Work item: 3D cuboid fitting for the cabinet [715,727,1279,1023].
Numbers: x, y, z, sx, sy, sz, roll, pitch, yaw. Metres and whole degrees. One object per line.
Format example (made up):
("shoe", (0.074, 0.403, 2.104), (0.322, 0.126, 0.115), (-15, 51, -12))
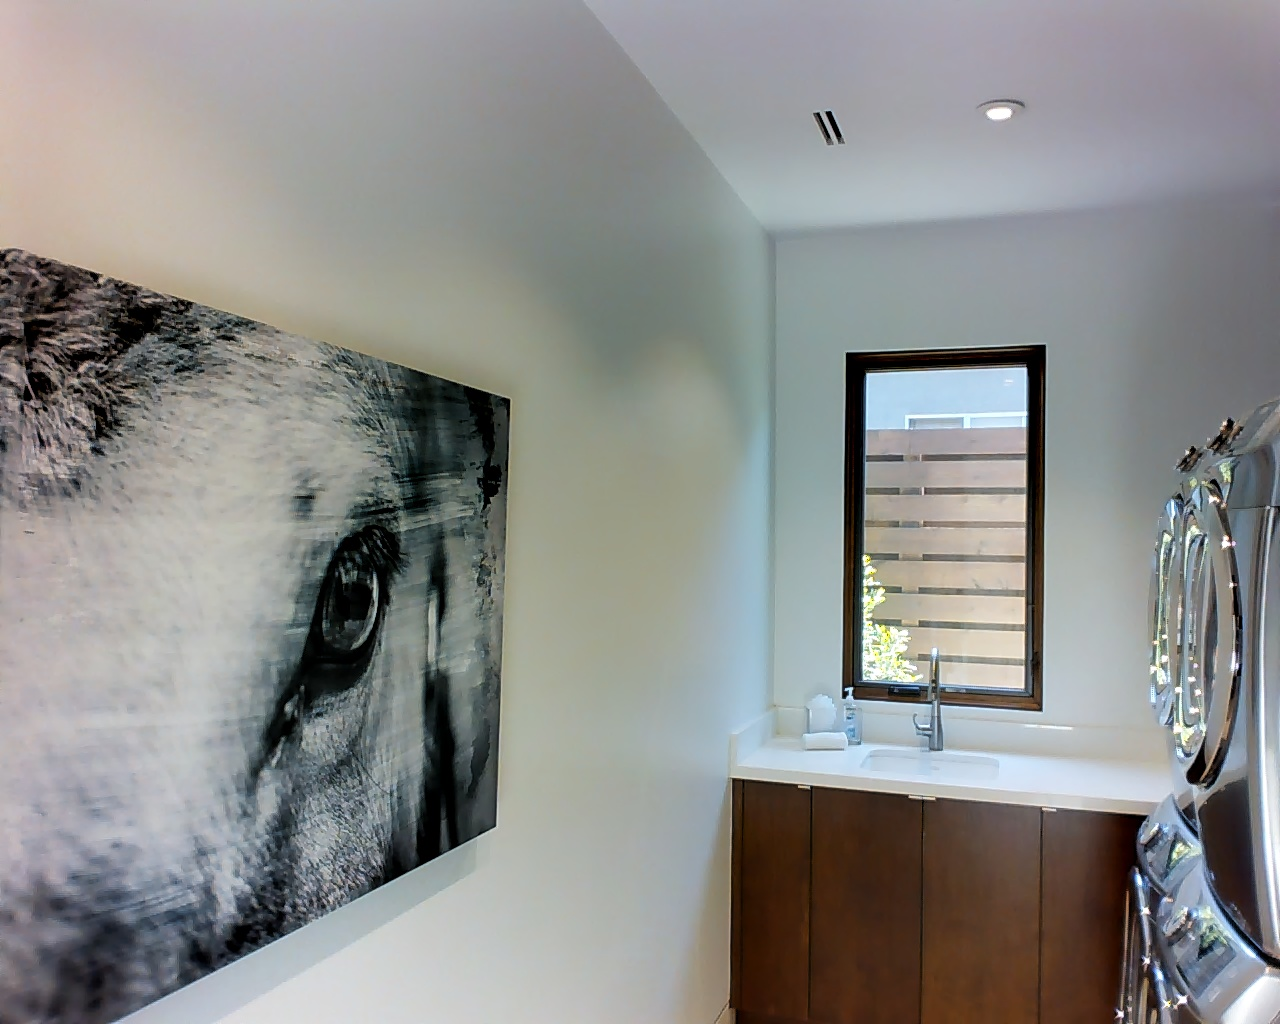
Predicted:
("cabinet", (1.310, 1.290, 3.540), (1.990, 0.890, 0.720), (0, -1, 21))
